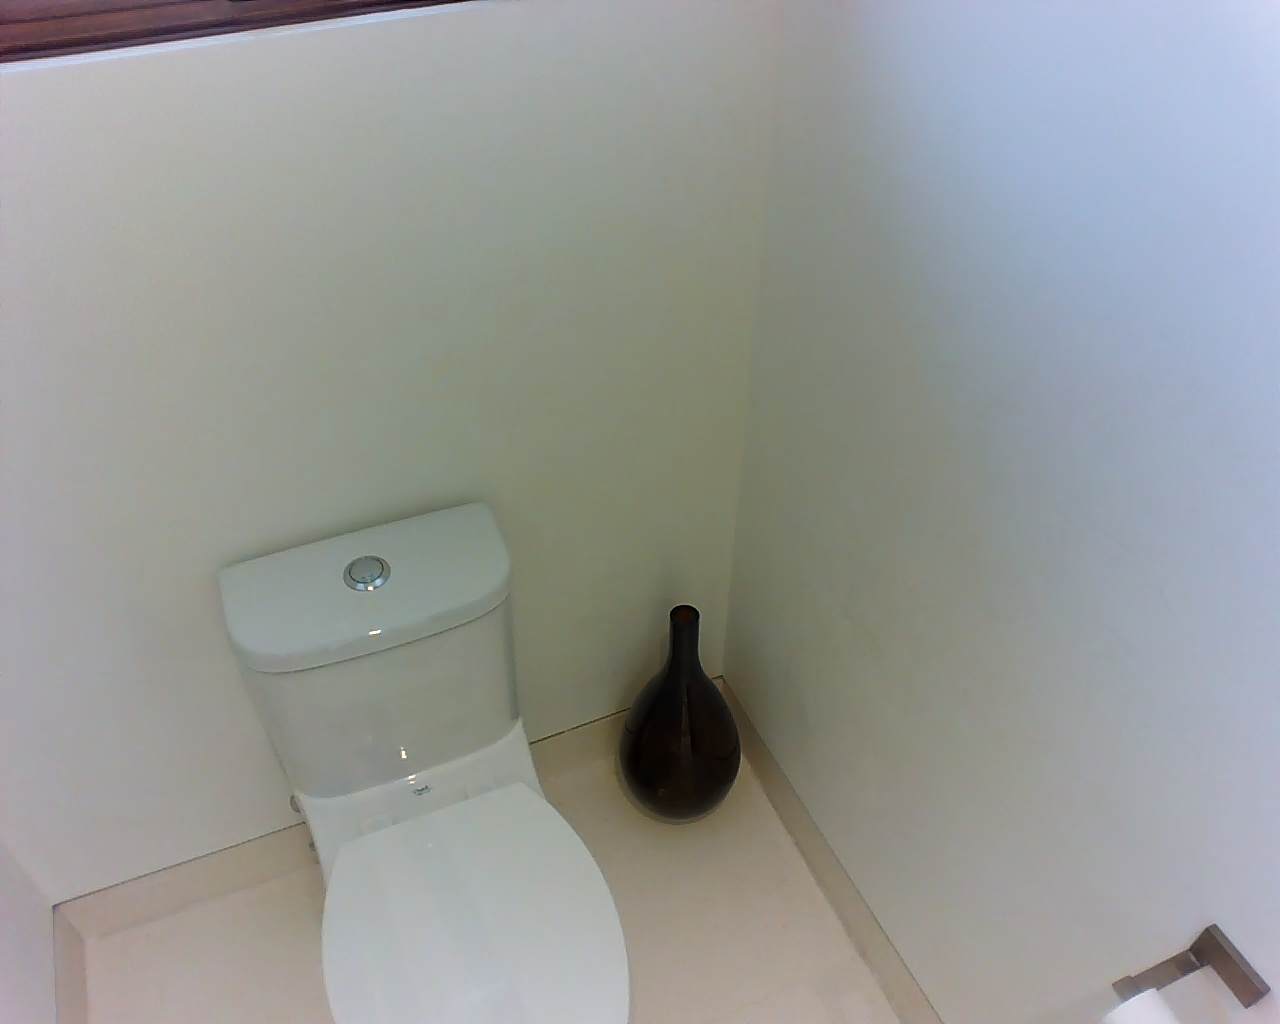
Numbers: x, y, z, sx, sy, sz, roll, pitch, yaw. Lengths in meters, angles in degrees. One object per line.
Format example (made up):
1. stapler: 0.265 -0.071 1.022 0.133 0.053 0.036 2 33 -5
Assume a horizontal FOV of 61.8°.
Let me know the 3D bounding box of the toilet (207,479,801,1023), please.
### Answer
1. toilet: -0.200 0.510 1.410 0.430 0.730 0.740 -17 44 -18
